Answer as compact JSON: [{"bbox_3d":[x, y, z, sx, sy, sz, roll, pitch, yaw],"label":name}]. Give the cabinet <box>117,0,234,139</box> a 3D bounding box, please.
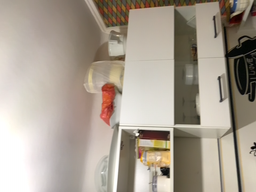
[{"bbox_3d":[0.290,-0.190,1.380,0.330,0.580,0.860,57,-146,-65],"label":"cabinet"}]
